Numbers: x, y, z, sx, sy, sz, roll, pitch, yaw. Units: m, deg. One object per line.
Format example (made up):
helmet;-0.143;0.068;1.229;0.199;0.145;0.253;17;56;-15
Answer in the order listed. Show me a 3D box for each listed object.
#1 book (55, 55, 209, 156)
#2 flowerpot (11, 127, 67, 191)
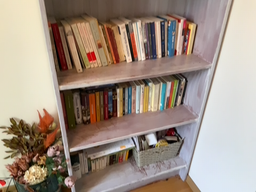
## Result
book;0.030;0.020;1.280;0.820;0.360;0.280;-12;35;-21
flowerpot;-0.550;0.520;1.370;0.250;0.500;0.310;-12;35;-21
